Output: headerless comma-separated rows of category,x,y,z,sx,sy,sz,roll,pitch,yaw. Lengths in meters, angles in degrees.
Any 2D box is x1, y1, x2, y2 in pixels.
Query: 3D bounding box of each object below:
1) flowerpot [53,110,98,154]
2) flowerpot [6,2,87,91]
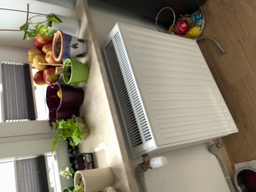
flowerpot,-0.270,0.180,1.070,0.190,0.140,0.170,-31,66,48
flowerpot,-0.450,-0.230,1.130,0.310,0.300,0.300,-37,61,46
